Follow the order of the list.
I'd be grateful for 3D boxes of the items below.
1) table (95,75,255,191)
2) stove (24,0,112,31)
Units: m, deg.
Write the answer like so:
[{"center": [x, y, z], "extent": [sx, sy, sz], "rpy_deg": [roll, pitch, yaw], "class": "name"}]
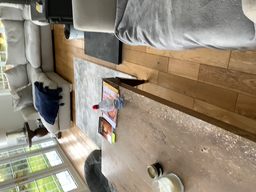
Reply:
[{"center": [0.290, 0.440, 1.470], "extent": [1.380, 0.450, 0.880], "rpy_deg": [26, 118, 51], "class": "table"}, {"center": [-0.640, -0.960, 2.230], "extent": [0.670, 0.700, 0.460], "rpy_deg": [26, 119, 50], "class": "stove"}]
